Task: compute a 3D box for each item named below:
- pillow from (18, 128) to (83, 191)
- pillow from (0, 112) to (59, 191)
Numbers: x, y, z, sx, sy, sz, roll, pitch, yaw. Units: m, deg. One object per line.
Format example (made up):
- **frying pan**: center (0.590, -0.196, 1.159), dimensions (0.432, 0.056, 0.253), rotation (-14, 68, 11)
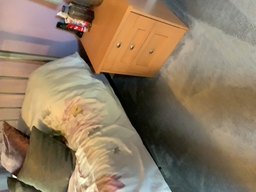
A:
- **pillow**: center (-0.550, 0.500, 1.450), dimensions (0.420, 0.260, 0.350), rotation (-59, 46, 32)
- **pillow**: center (-0.850, 0.520, 1.730), dimensions (0.560, 0.300, 0.530), rotation (52, 127, 40)
